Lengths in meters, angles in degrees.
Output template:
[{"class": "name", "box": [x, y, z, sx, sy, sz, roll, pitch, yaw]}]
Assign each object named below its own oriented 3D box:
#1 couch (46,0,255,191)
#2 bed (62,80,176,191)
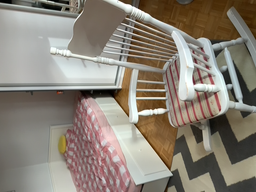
[{"class": "couch", "box": [0.210, -0.080, 1.230, 0.620, 1.150, 0.880, -33, 63, 57]}, {"class": "bed", "box": [-0.400, 0.980, 3.030, 2.070, 0.510, 1.670, 49, 133, 49]}]
